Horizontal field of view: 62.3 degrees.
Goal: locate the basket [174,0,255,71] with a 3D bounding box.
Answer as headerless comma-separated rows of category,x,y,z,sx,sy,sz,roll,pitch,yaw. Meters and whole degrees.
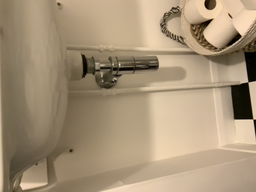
basket,0.390,-0.300,0.720,0.370,0.270,0.340,159,105,-67

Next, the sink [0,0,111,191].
sink,-0.260,-0.080,0.470,0.410,0.290,0.590,169,96,-68
